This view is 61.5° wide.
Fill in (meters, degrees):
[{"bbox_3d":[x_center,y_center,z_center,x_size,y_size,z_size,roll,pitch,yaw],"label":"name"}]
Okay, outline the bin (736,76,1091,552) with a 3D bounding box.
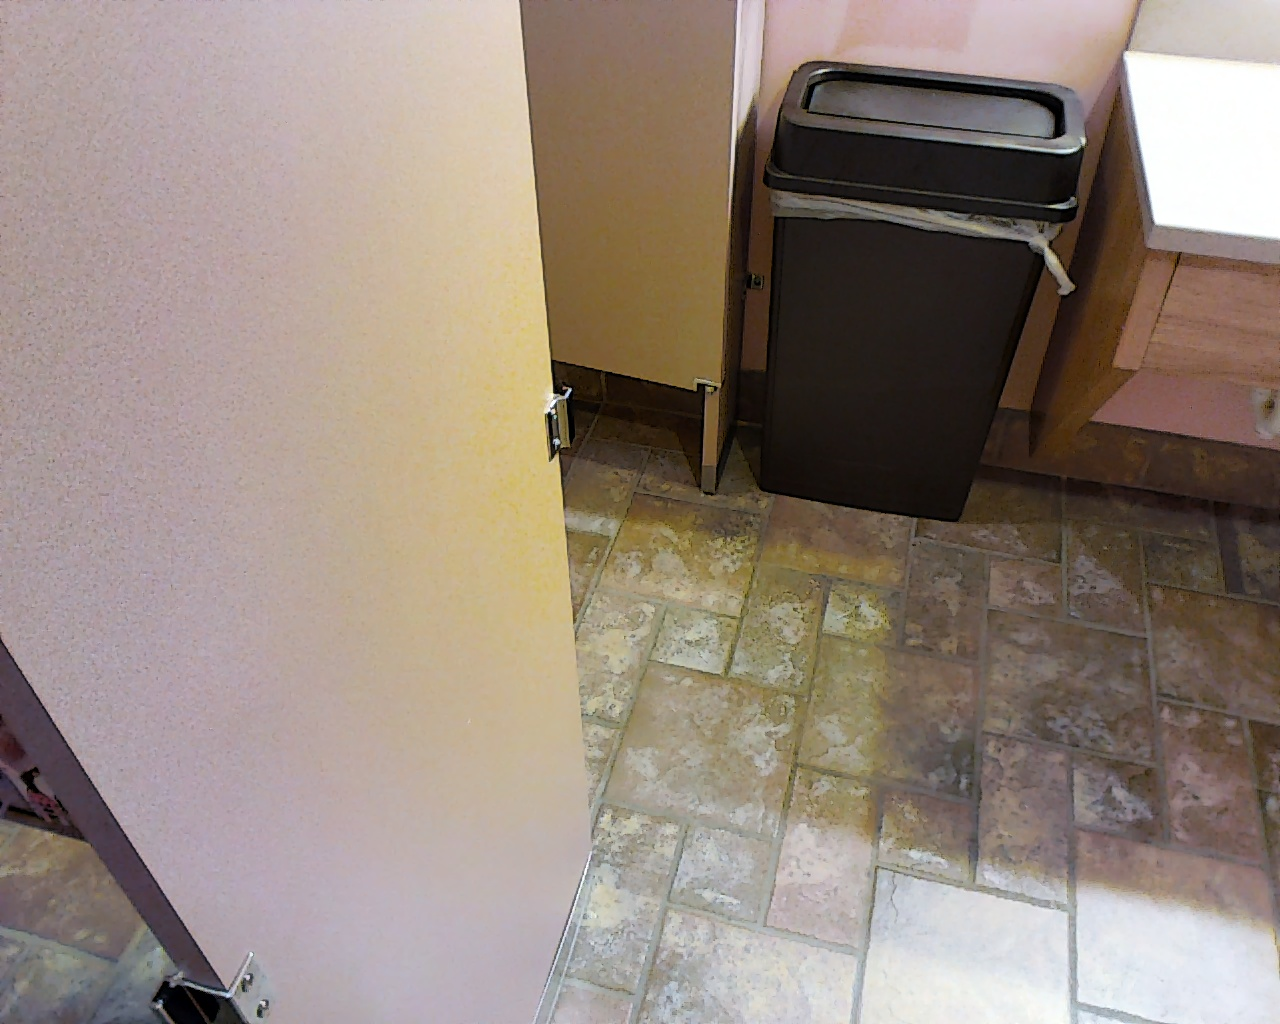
[{"bbox_3d":[0.490,-0.360,2.100,0.520,0.820,0.300,9,43,11],"label":"bin"}]
